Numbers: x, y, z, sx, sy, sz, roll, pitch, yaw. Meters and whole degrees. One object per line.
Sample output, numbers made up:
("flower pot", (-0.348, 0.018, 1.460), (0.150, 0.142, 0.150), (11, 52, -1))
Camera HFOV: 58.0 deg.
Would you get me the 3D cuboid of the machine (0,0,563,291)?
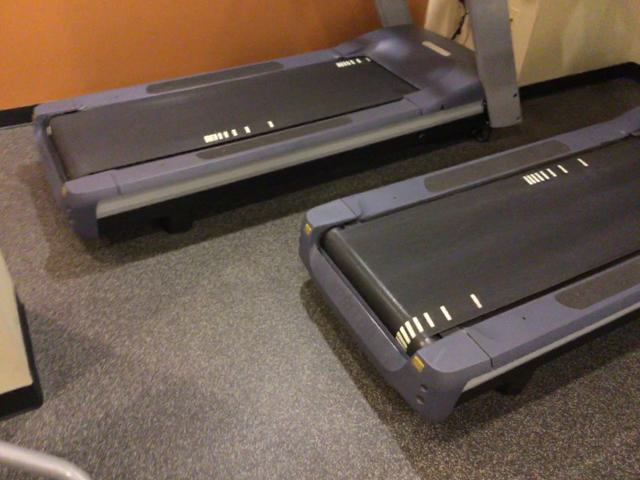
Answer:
("machine", (-0.190, -1.190, 2.230), (2.260, 1.840, 1.010), (-21, 40, -23))
